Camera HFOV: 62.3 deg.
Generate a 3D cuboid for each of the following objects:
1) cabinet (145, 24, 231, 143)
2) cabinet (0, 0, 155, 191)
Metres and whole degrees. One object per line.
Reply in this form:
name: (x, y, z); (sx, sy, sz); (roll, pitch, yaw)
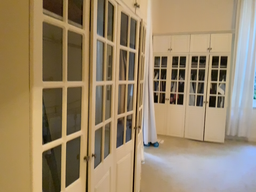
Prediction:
cabinet: (1.210, -0.270, 4.450); (1.540, 2.210, 0.490); (4, 6, 22)
cabinet: (-0.300, -0.020, 1.550); (0.580, 2.190, 1.560); (4, 6, 20)
